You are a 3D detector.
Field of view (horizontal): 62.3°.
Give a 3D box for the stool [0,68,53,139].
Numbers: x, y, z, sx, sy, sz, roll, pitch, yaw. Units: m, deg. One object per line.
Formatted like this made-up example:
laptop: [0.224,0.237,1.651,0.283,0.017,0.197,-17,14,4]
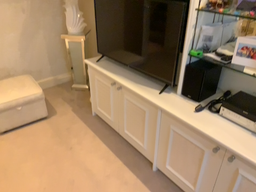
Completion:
stool: [-1.250,0.050,2.350,0.560,0.430,0.580,-21,37,-31]
